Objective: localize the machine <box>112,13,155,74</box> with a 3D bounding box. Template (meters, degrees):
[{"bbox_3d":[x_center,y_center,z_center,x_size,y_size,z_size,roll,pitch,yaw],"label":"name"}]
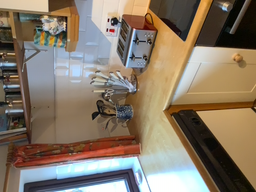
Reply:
[{"bbox_3d":[0.020,-0.360,1.460,0.270,0.160,0.310,-113,29,-45],"label":"machine"}]

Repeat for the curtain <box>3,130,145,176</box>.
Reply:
[{"bbox_3d":[-0.360,0.400,1.580,0.210,0.960,0.090,-115,30,-47],"label":"curtain"}]
